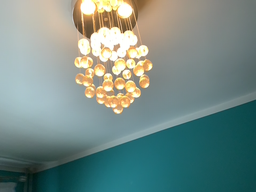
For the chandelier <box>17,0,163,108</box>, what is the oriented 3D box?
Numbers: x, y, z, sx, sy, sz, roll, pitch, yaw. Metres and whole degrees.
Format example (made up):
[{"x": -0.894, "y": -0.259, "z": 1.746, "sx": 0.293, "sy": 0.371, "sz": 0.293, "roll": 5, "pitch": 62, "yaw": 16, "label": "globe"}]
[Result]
[{"x": -0.080, "y": -0.150, "z": 0.620, "sx": 0.360, "sy": 0.250, "sz": 0.220, "roll": 44, "pitch": -149, "yaw": -63, "label": "chandelier"}]
